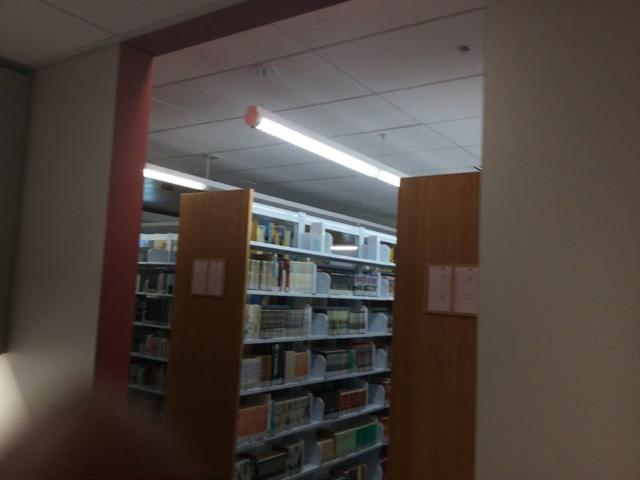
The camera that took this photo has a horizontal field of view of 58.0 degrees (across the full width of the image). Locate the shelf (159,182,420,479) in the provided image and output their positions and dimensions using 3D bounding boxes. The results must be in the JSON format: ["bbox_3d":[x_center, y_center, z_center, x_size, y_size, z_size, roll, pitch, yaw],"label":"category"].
[{"bbox_3d":[-0.040,0.850,4.260,0.600,2.170,2.300,-2,-5,35],"label":"shelf"}]
